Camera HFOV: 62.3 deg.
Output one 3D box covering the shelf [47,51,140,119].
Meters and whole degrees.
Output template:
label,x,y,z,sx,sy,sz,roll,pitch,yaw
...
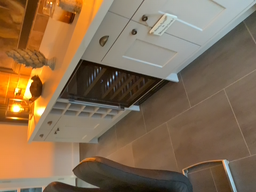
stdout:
label,x,y,z,sx,sy,sz,roll,pitch,yaw
shelf,-0.360,-0.080,2.270,0.330,0.870,0.500,-40,49,47
